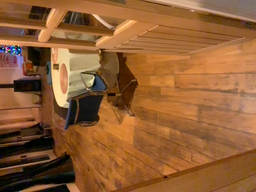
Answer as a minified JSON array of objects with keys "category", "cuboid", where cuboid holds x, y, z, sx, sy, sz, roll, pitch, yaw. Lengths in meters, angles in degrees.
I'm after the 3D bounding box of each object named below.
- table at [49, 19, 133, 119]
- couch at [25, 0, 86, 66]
[{"category":"table","cuboid":[-0.620,-0.430,3.050,1.070,0.770,1.050,42,128,51]},{"category":"couch","cuboid":[-2.030,-1.470,5.390,3.530,0.760,1.230,9,100,59]}]
